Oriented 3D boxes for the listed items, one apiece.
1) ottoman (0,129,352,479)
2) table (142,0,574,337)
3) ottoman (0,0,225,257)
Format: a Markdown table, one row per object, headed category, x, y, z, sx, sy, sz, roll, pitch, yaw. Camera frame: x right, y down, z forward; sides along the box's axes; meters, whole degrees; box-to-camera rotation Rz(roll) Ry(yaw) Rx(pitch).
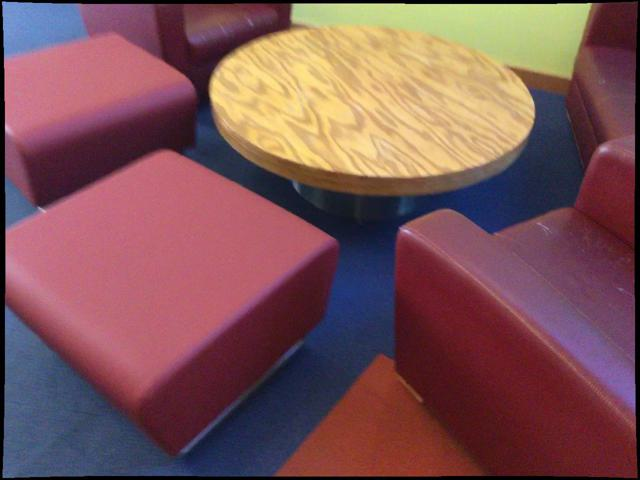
| category | x | y | z | sx | sy | sz | roll | pitch | yaw |
| --- | --- | --- | --- | --- | --- | --- | --- | --- | --- |
| ottoman | -0.400 | 0.130 | 1.600 | 0.710 | 0.440 | 0.640 | 29 | 48 | 28 |
| table | 0.210 | -0.460 | 2.340 | 1.249 | 0.440 | 1.230 | 22 | 57 | 11 |
| ottoman | -0.909 | -0.480 | 2.240 | 0.720 | 0.500 | 0.710 | -33 | 53 | -22 |
